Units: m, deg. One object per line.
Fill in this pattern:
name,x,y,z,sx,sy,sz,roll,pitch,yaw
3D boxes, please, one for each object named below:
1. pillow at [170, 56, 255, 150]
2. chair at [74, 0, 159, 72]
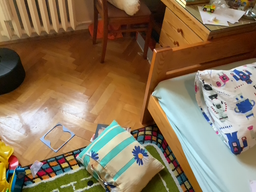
pillow,0.540,0.000,1.020,0.540,0.140,0.360,-11,50,-16
chair,-0.130,-0.760,1.820,0.560,0.880,0.520,-13,51,-18
